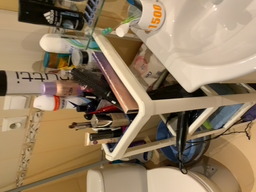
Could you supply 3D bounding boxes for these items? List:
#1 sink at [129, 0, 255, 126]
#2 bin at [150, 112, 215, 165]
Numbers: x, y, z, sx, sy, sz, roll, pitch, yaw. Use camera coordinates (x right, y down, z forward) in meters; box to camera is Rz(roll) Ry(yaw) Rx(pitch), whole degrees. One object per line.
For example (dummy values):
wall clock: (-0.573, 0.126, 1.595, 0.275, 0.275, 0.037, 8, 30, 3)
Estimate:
sink: (0.280, -0.280, 0.520, 0.430, 0.140, 0.570, 57, 133, 32)
bin: (0.370, 0.270, 1.460, 0.300, 0.290, 0.240, 10, 100, 50)
